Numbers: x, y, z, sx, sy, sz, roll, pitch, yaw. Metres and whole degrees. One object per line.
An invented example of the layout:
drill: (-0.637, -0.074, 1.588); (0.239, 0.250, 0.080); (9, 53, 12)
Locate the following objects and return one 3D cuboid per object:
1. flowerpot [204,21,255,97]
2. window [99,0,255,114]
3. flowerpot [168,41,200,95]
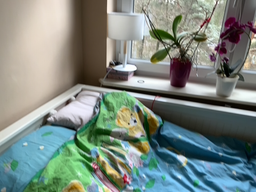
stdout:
flowerpot: (0.650, -0.240, 1.390); (0.200, 0.460, 0.110); (9, 23, 11)
window: (0.580, -0.650, 1.250); (1.510, 1.490, 0.200); (8, 23, 11)
flowerpot: (0.370, -0.190, 1.420); (0.150, 0.320, 0.130); (9, 23, 12)
